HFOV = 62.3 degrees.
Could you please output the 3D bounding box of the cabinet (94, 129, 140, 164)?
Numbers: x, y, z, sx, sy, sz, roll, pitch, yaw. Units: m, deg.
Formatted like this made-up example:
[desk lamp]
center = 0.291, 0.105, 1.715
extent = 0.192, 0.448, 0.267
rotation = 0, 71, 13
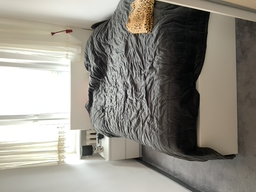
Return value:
[cabinet]
center = -0.190, 0.750, 3.300
extent = 0.570, 0.550, 0.390
rotation = 176, 95, -66
